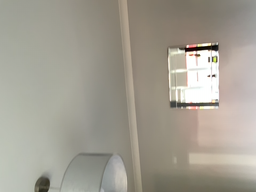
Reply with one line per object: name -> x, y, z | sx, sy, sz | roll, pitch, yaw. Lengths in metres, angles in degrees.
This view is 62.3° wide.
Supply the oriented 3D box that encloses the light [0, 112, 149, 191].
light -> -0.300, 0.530, 1.240 | 0.520, 0.660, 0.530 | 38, 107, 7
